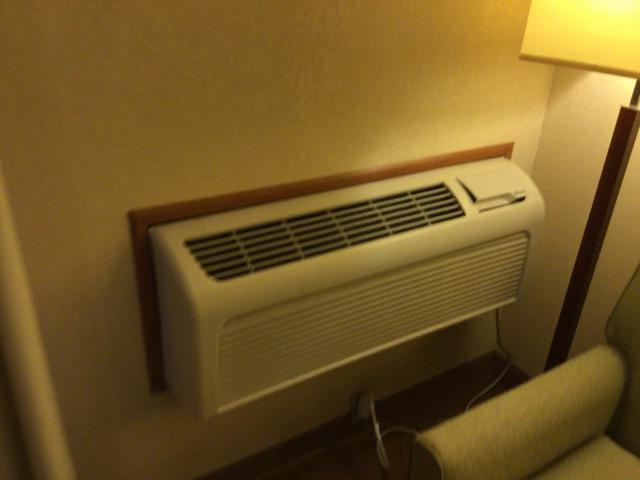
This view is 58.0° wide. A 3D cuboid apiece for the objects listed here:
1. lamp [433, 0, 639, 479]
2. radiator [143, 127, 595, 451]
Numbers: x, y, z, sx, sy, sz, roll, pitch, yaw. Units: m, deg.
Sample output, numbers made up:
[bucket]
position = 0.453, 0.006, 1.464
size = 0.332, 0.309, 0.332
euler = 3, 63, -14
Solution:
[lamp]
position = 0.670, 0.020, 1.420
size = 0.410, 1.480, 0.420
euler = -13, 30, -29
[radiator]
position = 0.180, 0.060, 1.460
size = 1.150, 0.540, 0.190
euler = -13, 30, -29
